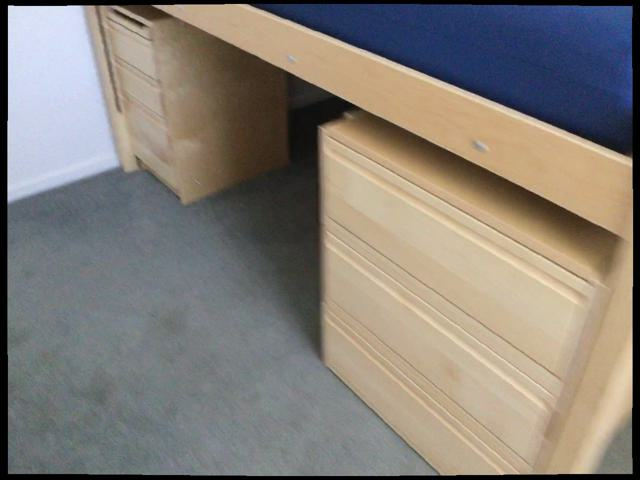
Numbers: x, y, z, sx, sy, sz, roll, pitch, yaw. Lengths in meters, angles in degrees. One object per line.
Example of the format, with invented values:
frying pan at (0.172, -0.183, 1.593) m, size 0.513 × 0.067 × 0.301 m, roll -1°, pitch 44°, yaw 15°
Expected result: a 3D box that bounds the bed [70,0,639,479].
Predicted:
bed at (0.369, -0.541, 2.000) m, size 1.569 × 1.121 × 2.289 m, roll -26°, pitch 45°, yaw -30°
